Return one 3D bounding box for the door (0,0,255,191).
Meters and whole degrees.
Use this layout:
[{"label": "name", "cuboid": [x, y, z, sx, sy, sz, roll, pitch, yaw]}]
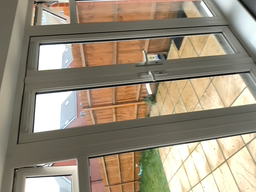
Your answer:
[{"label": "door", "cuboid": [0.140, -0.210, 1.820, 0.120, 2.160, 2.240, 99, 162, -54]}]
